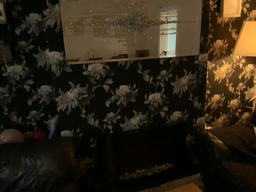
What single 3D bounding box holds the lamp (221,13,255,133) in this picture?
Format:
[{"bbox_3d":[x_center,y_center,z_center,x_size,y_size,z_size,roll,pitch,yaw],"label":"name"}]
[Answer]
[{"bbox_3d":[1.440,-0.260,2.390,0.560,1.250,0.460,7,18,34],"label":"lamp"}]
